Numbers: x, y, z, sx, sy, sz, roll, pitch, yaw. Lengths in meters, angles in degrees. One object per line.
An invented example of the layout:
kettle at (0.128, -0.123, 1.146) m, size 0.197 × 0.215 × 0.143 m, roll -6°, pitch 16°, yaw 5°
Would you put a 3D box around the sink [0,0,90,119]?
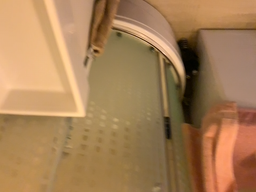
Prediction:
sink at (-0.340, -0.180, 0.500) m, size 0.410 × 0.130 × 0.610 m, roll 2°, pitch 139°, yaw 0°
